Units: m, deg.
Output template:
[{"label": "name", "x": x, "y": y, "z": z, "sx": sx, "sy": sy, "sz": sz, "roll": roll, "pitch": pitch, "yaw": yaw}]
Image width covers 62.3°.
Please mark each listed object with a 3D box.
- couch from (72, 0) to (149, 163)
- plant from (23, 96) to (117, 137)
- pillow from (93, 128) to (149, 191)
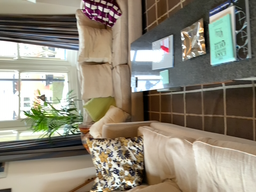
[{"label": "couch", "x": -0.290, "y": -0.400, "z": 2.960, "sx": 0.930, "sy": 0.800, "sz": 2.290, "roll": -178, "pitch": 88, "yaw": -67}, {"label": "plant", "x": -1.040, "y": 0.360, "z": 3.810, "sx": 0.660, "sy": 1.490, "sz": 0.550, "roll": 142, "pitch": 124, "yaw": -62}, {"label": "pillow", "x": -0.060, "y": 0.640, "z": 2.000, "sx": 0.170, "sy": 0.440, "sz": 0.630, "roll": 12, "pitch": 93, "yaw": 43}]
